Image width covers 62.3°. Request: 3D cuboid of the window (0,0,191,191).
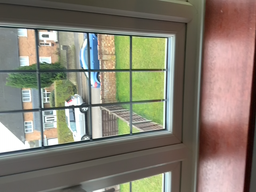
[{"bbox_3d":[-0.200,-0.060,0.640,0.050,0.920,1.390,-162,70,-63],"label":"window"}]
